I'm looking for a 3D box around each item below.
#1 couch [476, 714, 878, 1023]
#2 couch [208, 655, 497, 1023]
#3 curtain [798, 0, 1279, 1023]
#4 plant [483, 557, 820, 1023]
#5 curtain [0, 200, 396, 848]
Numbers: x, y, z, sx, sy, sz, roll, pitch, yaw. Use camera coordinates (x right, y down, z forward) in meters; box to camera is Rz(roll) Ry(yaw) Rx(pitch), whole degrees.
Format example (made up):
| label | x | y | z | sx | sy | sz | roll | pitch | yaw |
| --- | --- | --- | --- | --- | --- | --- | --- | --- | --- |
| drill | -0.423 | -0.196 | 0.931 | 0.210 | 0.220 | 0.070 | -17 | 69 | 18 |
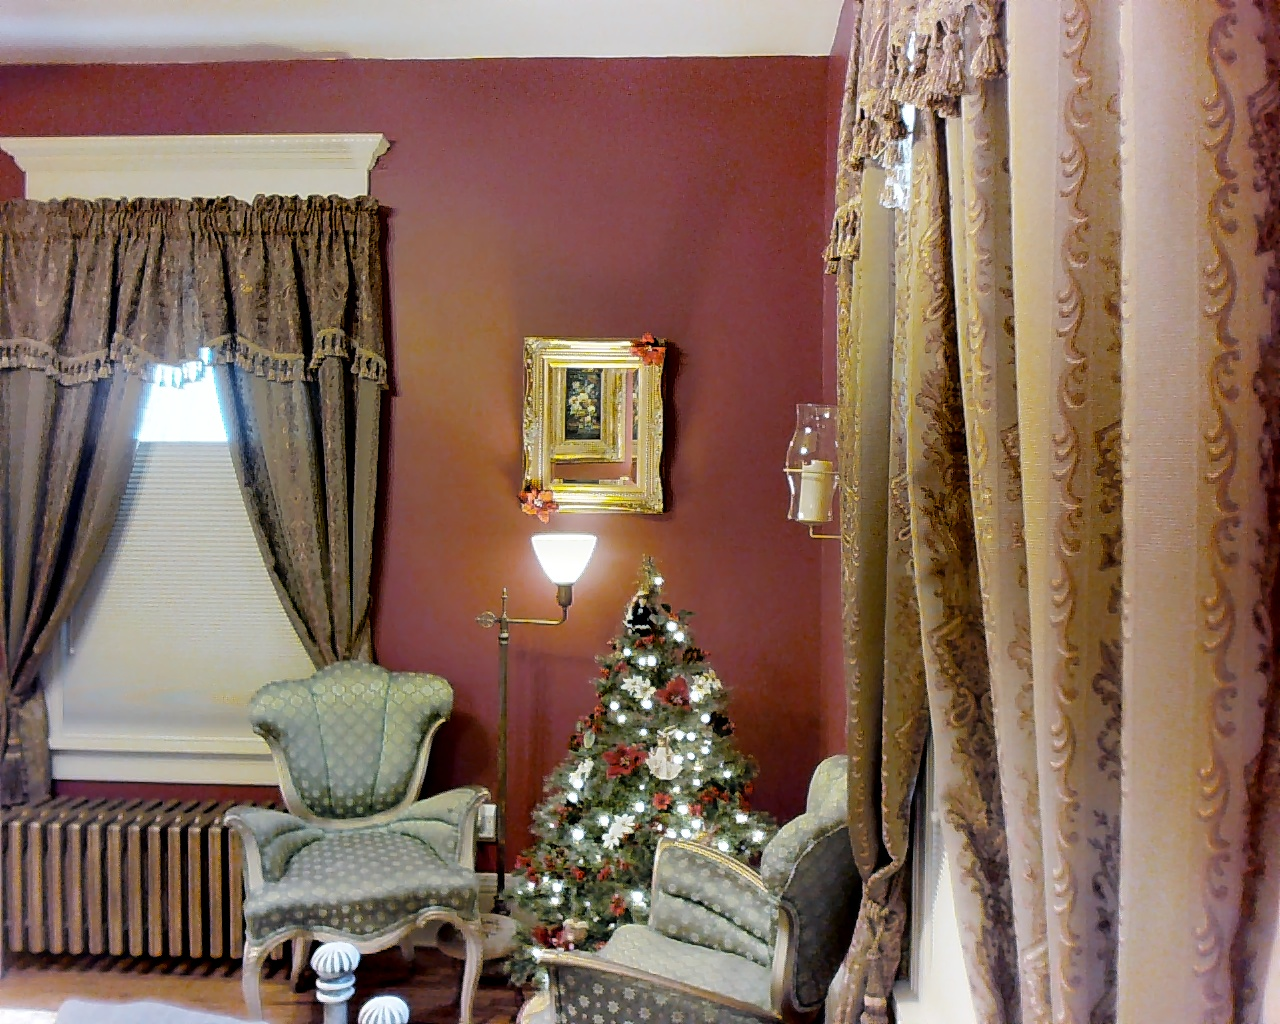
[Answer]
| label | x | y | z | sx | sy | sz | roll | pitch | yaw |
| --- | --- | --- | --- | --- | --- | --- | --- | --- | --- |
| couch | 0.120 | 1.020 | 2.260 | 0.620 | 1.010 | 0.770 | 1 | 0 | 21 |
| couch | -0.820 | 1.000 | 3.100 | 0.700 | 1.060 | 0.760 | 1 | 0 | -16 |
| curtain | 0.360 | 0.120 | 1.290 | 0.200 | 2.241 | 1.370 | 1 | 0 | 3 |
| plant | 0.060 | 0.830 | 3.070 | 0.680 | 1.360 | 0.760 | 1 | 0 | 27 |
| curtain | -1.529 | 0.030 | 3.550 | 1.389 | 2.051 | 0.210 | 1 | 0 | 3 |
